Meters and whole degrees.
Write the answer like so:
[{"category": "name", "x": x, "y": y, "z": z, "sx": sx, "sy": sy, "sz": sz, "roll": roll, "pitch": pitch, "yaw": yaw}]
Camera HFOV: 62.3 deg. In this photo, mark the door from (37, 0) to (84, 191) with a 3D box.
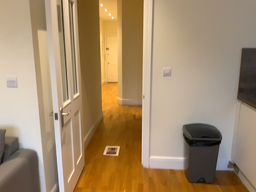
[{"category": "door", "x": -0.600, "y": -0.040, "z": 2.070, "sx": 0.060, "sy": 2.070, "sz": 0.850, "roll": 1, "pitch": 12, "yaw": 2}]
